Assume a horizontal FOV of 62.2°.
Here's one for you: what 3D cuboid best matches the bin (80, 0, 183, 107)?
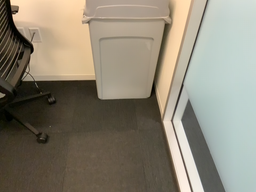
[{"bbox_3d":[-0.010,-0.330,1.570,0.570,0.880,0.290,-2,45,-6],"label":"bin"}]
